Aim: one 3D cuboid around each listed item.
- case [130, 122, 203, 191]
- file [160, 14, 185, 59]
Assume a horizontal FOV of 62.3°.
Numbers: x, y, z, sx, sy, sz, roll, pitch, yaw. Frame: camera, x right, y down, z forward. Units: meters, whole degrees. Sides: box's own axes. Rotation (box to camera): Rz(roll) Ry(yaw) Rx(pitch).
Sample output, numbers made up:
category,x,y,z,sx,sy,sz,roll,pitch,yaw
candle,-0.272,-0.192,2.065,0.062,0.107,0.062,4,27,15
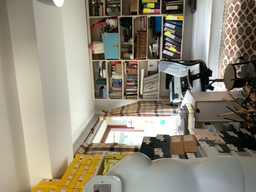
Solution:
category,x,y,z,sx,sy,sz,roll,pitch,yaw
case,0.290,0.580,1.850,0.640,0.500,0.450,-77,-13,-71
file,0.860,-1.170,4.180,0.300,0.400,0.820,-75,-14,-73
